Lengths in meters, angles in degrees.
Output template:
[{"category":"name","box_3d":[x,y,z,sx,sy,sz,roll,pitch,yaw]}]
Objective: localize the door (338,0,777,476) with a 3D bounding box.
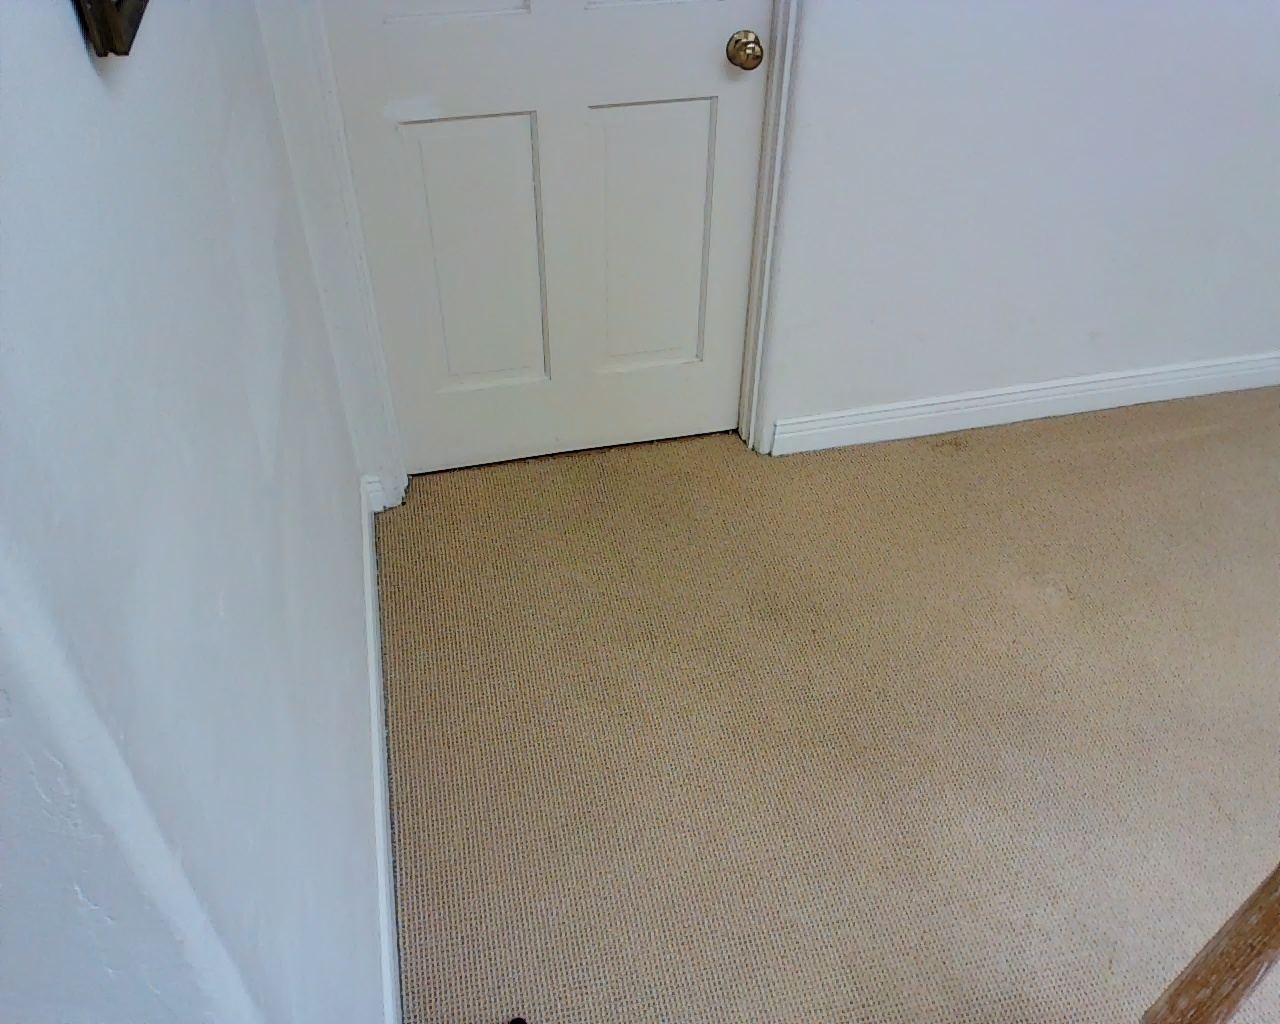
[{"category":"door","box_3d":[-0.130,-0.890,1.890,0.770,2.010,0.030,-8,43,-9]}]
